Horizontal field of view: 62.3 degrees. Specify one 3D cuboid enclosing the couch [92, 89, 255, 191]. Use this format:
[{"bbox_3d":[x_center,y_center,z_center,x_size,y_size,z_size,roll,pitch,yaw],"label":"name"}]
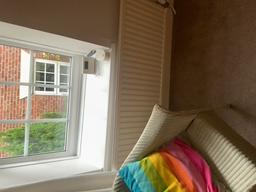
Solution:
[{"bbox_3d":[0.370,0.450,1.210,0.650,0.760,0.680,52,125,38],"label":"couch"}]
